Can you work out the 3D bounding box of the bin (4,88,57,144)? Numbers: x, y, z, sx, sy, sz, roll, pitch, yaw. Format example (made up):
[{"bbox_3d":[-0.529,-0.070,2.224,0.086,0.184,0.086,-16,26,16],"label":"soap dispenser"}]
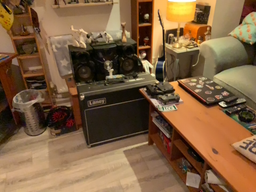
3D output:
[{"bbox_3d":[-0.900,0.180,2.000,0.240,0.390,0.290,12,33,21],"label":"bin"}]
